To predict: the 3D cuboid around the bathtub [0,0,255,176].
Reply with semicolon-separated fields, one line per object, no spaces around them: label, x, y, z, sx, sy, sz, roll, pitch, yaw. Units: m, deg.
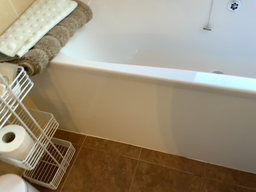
bathtub;0.420;-0.130;1.060;1.700;0.550;0.740;11;53;15
